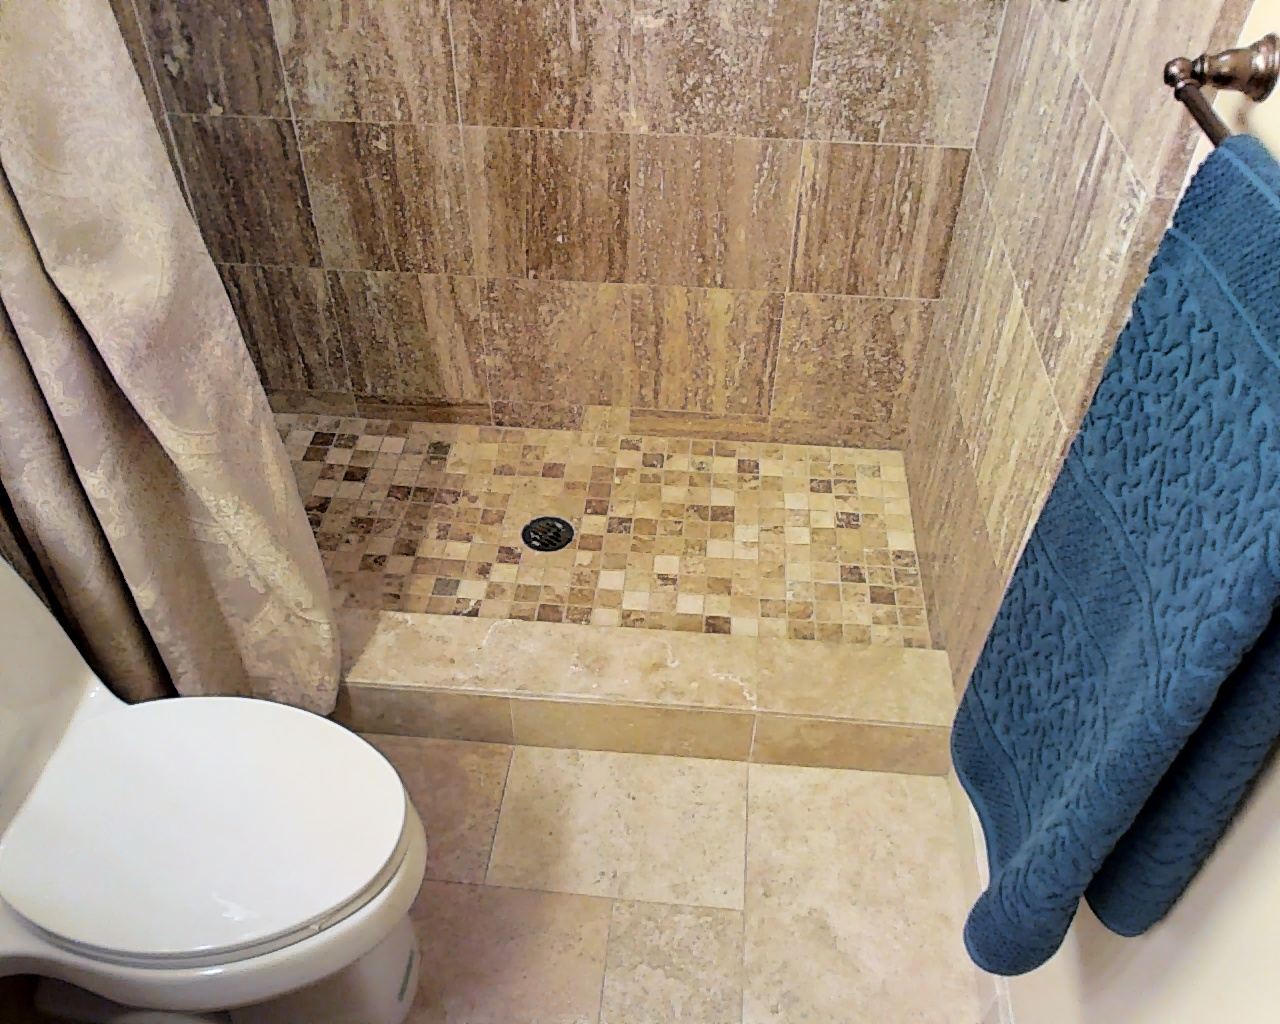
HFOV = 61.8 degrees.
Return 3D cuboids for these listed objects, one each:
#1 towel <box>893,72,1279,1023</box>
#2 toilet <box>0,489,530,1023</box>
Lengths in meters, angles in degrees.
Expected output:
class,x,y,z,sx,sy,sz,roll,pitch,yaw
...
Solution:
class,x,y,z,sx,sy,sz,roll,pitch,yaw
towel,0.420,0.090,0.980,0.190,0.810,0.410,4,44,3
toilet,-0.580,0.410,1.320,0.770,0.660,0.520,5,44,4
